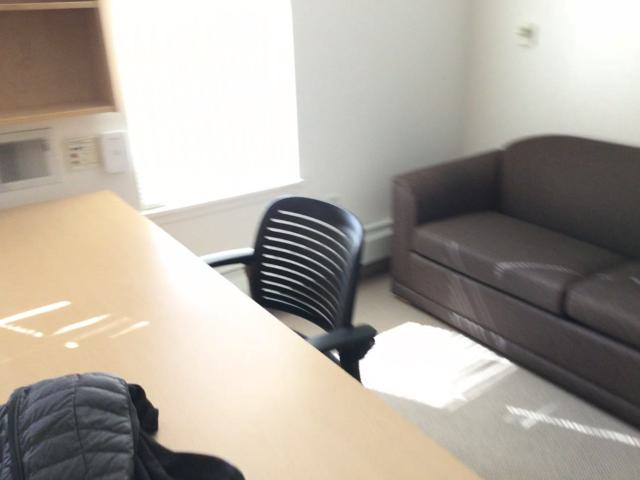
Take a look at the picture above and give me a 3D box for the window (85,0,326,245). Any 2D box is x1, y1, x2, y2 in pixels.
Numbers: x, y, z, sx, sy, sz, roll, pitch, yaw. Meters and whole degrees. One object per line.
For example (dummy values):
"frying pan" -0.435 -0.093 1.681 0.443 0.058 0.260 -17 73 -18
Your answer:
"window" -0.420 -0.970 2.180 0.860 1.840 0.250 -15 25 -32

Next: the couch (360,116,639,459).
"couch" 1.100 0.080 2.260 0.900 0.820 1.880 -15 25 -32

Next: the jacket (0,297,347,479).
"jacket" -0.270 0.280 0.770 0.340 0.130 0.560 -15 25 -32
